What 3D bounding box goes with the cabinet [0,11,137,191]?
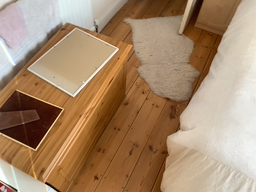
[{"bbox_3d":[-0.350,0.040,1.230,0.450,0.520,0.840,24,60,11],"label":"cabinet"}]
